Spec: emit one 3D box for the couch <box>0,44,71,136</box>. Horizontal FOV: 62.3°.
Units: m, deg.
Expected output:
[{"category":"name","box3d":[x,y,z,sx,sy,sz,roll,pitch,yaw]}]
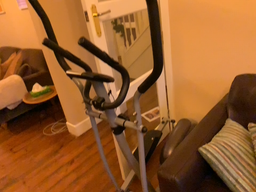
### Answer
[{"category":"couch","box3d":[-2.140,-0.270,3.560,2.040,0.830,1.160,13,34,39]}]
